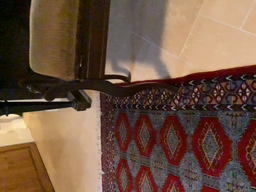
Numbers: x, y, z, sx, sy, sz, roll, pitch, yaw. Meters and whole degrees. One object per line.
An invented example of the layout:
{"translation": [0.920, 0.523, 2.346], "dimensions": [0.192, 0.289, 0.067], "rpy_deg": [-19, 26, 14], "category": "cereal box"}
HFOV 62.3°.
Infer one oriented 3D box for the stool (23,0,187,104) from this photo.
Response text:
{"translation": [-0.090, -0.300, 0.930], "dimensions": [0.370, 0.580, 0.580], "rpy_deg": [16, 103, 48], "category": "stool"}
